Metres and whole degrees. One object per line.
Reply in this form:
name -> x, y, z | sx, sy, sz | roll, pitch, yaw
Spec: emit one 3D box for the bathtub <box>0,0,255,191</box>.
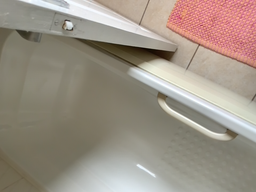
bathtub -> 0.130, 0.210, 0.960 | 1.730, 0.500, 0.700 | 28, 109, 17
